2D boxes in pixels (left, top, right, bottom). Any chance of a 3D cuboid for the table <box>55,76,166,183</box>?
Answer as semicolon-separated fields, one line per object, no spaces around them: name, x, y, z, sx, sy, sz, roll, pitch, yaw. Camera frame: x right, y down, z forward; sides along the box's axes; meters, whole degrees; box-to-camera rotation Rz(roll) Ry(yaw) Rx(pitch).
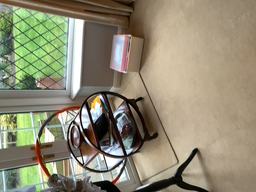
table;-0.220;0.300;2.200;0.550;0.770;0.830;-51;52;41

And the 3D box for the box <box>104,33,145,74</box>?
box;-0.050;-0.480;2.380;0.370;0.230;0.400;24;110;51
